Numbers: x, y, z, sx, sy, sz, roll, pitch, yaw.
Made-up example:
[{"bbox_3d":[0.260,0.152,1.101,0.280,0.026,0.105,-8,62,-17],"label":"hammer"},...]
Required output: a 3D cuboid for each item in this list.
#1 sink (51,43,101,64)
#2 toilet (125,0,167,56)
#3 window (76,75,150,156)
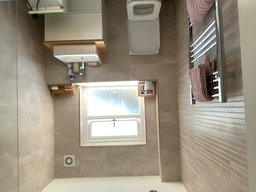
[{"bbox_3d":[-0.570,-0.480,2.430,0.450,0.120,0.450,-1,177,0],"label":"sink"},{"bbox_3d":[0.170,-0.910,2.360,0.400,0.790,0.610,-1,177,0],"label":"toilet"},{"bbox_3d":[-0.210,0.270,3.050,0.980,1.060,0.370,-1,177,1],"label":"window"}]
